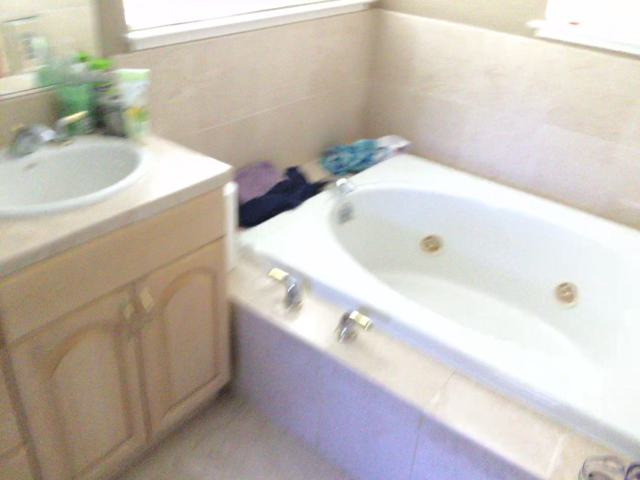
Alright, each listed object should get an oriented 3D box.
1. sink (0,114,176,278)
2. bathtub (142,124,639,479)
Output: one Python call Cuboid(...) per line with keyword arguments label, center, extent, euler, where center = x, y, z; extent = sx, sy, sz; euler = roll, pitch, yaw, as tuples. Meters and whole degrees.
Cuboid(label="sink", center=(-0.670, -0.140, 1.440), extent=(0.420, 0.170, 0.420), euler=(23, 34, 29))
Cuboid(label="bathtub", center=(0.590, 0.250, 1.980), extent=(2.020, 0.530, 1.330), euler=(25, 35, 32))
